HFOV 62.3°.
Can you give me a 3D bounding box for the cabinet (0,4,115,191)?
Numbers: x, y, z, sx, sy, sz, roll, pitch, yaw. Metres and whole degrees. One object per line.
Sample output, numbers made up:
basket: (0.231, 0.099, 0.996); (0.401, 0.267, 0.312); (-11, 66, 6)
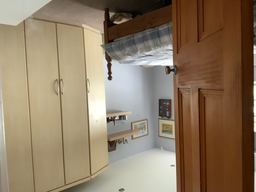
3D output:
cabinet: (-1.250, 0.130, 2.880); (2.130, 2.270, 0.720); (-4, -177, -44)
